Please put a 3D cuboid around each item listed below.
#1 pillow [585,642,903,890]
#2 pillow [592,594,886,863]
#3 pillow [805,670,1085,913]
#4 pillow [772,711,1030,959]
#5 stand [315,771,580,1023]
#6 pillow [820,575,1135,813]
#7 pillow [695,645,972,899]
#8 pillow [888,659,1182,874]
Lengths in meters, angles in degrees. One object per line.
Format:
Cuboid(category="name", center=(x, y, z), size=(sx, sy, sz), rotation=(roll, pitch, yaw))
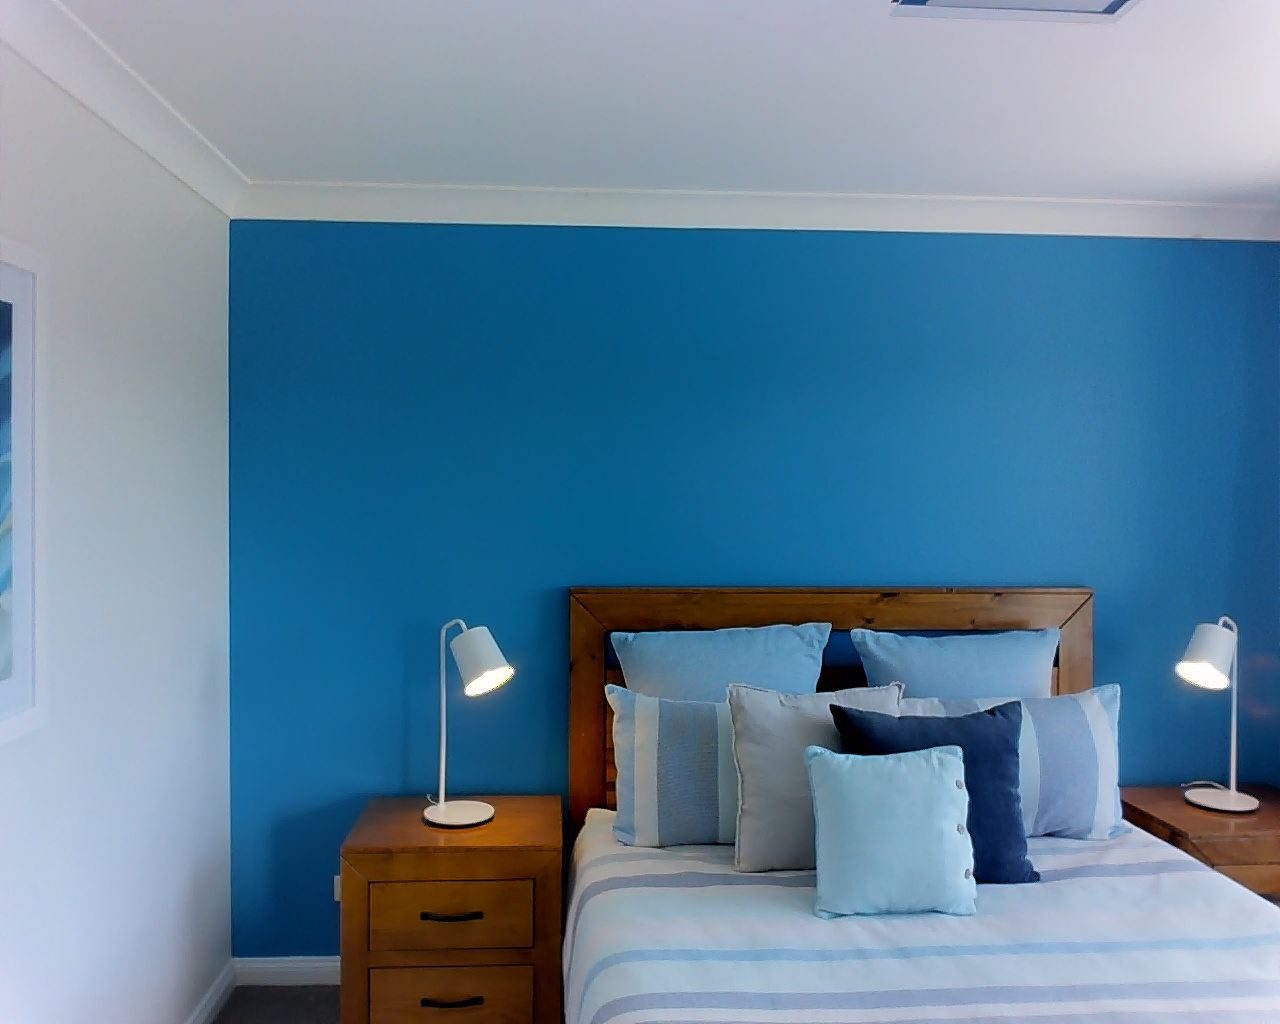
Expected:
Cuboid(category="pillow", center=(0.260, 0.660, 2.830), size=(0.720, 0.440, 0.250), rotation=(14, 0, -4))
Cuboid(category="pillow", center=(0.270, 0.610, 3.080), size=(0.700, 0.600, 0.280), rotation=(11, 1, -5))
Cuboid(category="pillow", center=(0.730, 0.670, 2.600), size=(0.530, 0.440, 0.230), rotation=(12, 1, -6))
Cuboid(category="pillow", center=(0.580, 0.720, 2.420), size=(0.420, 0.370, 0.210), rotation=(22, 0, -3))
Cuboid(category="stand", center=(-0.500, 1.110, 2.930), size=(0.650, 0.660, 0.520), rotation=(1, 2, -5))
Cuboid(category="pillow", center=(0.970, 0.520, 3.130), size=(0.720, 0.430, 0.310), rotation=(20, 0, -5))
Cuboid(category="pillow", center=(0.480, 0.650, 2.730), size=(0.550, 0.470, 0.270), rotation=(14, 1, -5))
Cuboid(category="pillow", center=(1.040, 0.670, 2.840), size=(0.660, 0.450, 0.190), rotation=(8, 1, -5))
